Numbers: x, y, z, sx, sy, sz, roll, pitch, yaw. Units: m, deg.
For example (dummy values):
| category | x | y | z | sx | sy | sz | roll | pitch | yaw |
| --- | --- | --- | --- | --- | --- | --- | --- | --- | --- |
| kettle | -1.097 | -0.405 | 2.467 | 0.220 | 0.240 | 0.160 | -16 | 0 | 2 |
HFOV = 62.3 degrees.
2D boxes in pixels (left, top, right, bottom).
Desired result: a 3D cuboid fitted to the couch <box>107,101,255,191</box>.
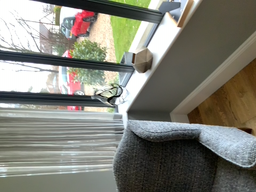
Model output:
| category | x | y | z | sx | sy | sz | roll | pitch | yaw |
| --- | --- | --- | --- | --- | --- | --- | --- | --- | --- |
| couch | 0.510 | 0.570 | 1.370 | 0.880 | 1.060 | 0.830 | -144 | 59 | -67 |
